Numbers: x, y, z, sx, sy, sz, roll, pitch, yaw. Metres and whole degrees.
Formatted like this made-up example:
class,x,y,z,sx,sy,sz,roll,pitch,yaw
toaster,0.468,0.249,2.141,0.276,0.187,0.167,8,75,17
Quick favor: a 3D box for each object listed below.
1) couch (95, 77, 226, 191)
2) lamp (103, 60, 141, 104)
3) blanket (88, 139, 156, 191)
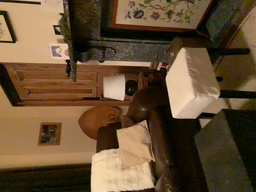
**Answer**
class,x,y,z,sx,sy,sz,roll,pitch,yaw
couch,0.190,1.040,1.960,1.120,0.930,2.150,108,160,-57
lamp,-0.090,-0.160,2.560,0.290,0.390,0.430,107,161,-56
blanket,-0.130,0.840,2.340,0.860,0.590,0.450,108,160,-57
